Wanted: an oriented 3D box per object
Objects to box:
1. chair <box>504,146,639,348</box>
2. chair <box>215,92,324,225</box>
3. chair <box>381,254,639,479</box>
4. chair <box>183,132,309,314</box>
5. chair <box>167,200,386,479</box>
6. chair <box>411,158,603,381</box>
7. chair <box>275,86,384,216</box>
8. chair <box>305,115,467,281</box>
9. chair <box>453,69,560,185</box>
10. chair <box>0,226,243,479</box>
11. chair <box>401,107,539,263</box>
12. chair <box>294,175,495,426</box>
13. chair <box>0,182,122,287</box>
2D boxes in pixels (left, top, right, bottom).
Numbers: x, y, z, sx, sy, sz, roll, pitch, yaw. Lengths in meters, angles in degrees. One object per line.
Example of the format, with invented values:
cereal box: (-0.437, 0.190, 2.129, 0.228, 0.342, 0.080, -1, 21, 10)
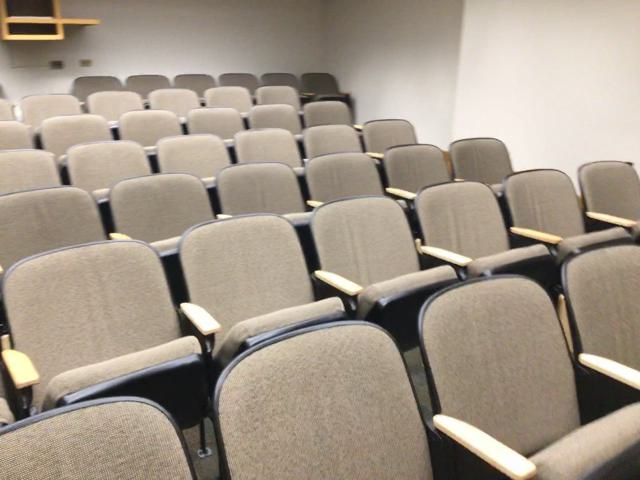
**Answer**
chair: (1.310, -0.010, 2.820, 0.560, 0.810, 0.550, -11, 15, -24)
chair: (-0.350, -0.590, 3.990, 0.530, 0.790, 0.540, -11, 19, -25)
chair: (0.550, 0.520, 1.520, 0.540, 0.750, 0.570, -11, 19, -25)
chair: (-0.390, -0.120, 3.040, 0.450, 0.800, 0.500, -11, 19, -25)
chair: (-0.160, 0.320, 2.110, 0.510, 0.760, 0.630, -13, 20, -30)
chair: (0.830, 0.080, 2.620, 0.570, 0.810, 0.560, -12, 15, -27)
chair: (0.070, -0.670, 4.180, 0.560, 0.810, 0.550, -11, 19, -25)
chair: (0.380, -0.270, 3.410, 0.660, 0.810, 0.600, -11, 11, -25)
chair: (1.480, -0.930, 4.660, 0.600, 0.830, 0.510, -9, 19, -18)
chair: (-0.660, 0.440, 1.830, 0.570, 0.770, 0.570, -14, 21, -32)
chair: (0.930, -0.360, 3.590, 0.590, 0.830, 0.530, -11, 13, -25)
chair: (0.300, 0.190, 2.360, 0.560, 0.790, 0.550, -12, 17, -28)
chair: (-1.160, -0.040, 2.420, 0.530, 0.270, 0.450, -11, 19, -25)
